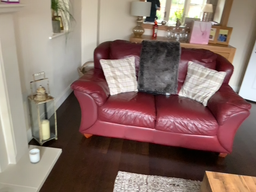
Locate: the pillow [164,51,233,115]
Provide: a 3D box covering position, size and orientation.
[{"bbox_3d":[0.760,-0.150,2.380,0.200,0.440,0.570,7,33,-42],"label":"pillow"}]

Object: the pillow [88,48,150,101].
[{"bbox_3d":[-0.100,-0.220,2.400,0.510,0.420,0.250,17,33,-46],"label":"pillow"}]

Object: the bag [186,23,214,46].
[{"bbox_3d":[1.110,-0.960,3.300,0.280,0.290,0.270,5,24,-2],"label":"bag"}]
